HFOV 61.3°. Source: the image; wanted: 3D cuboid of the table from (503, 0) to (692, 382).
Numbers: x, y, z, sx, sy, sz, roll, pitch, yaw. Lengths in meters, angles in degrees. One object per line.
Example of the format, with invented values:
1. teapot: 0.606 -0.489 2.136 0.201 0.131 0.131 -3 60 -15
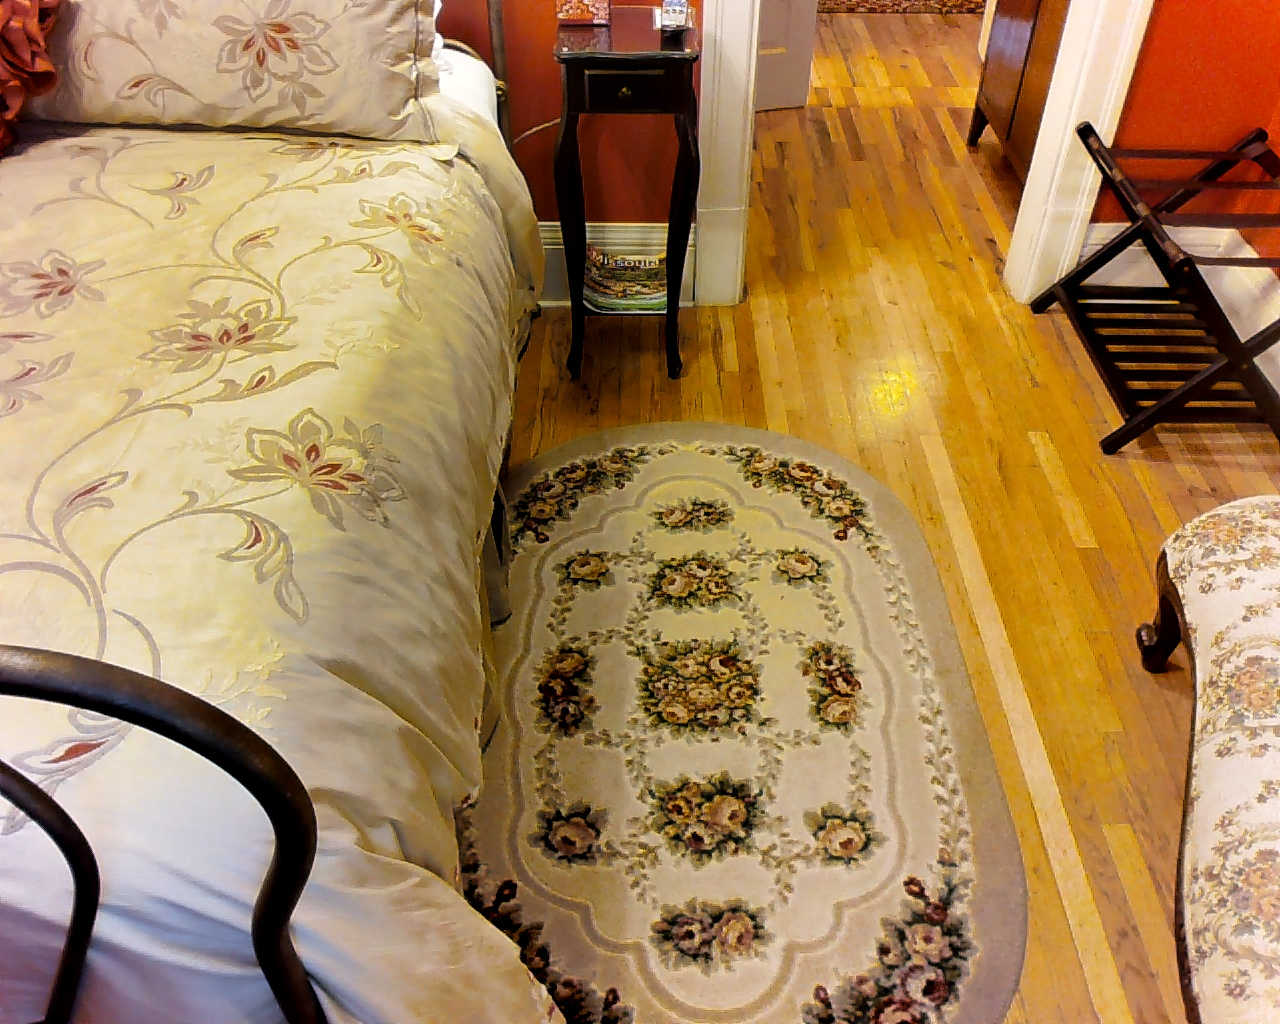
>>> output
1. table: -0.080 -0.750 2.590 0.380 0.790 0.380 2 44 2
